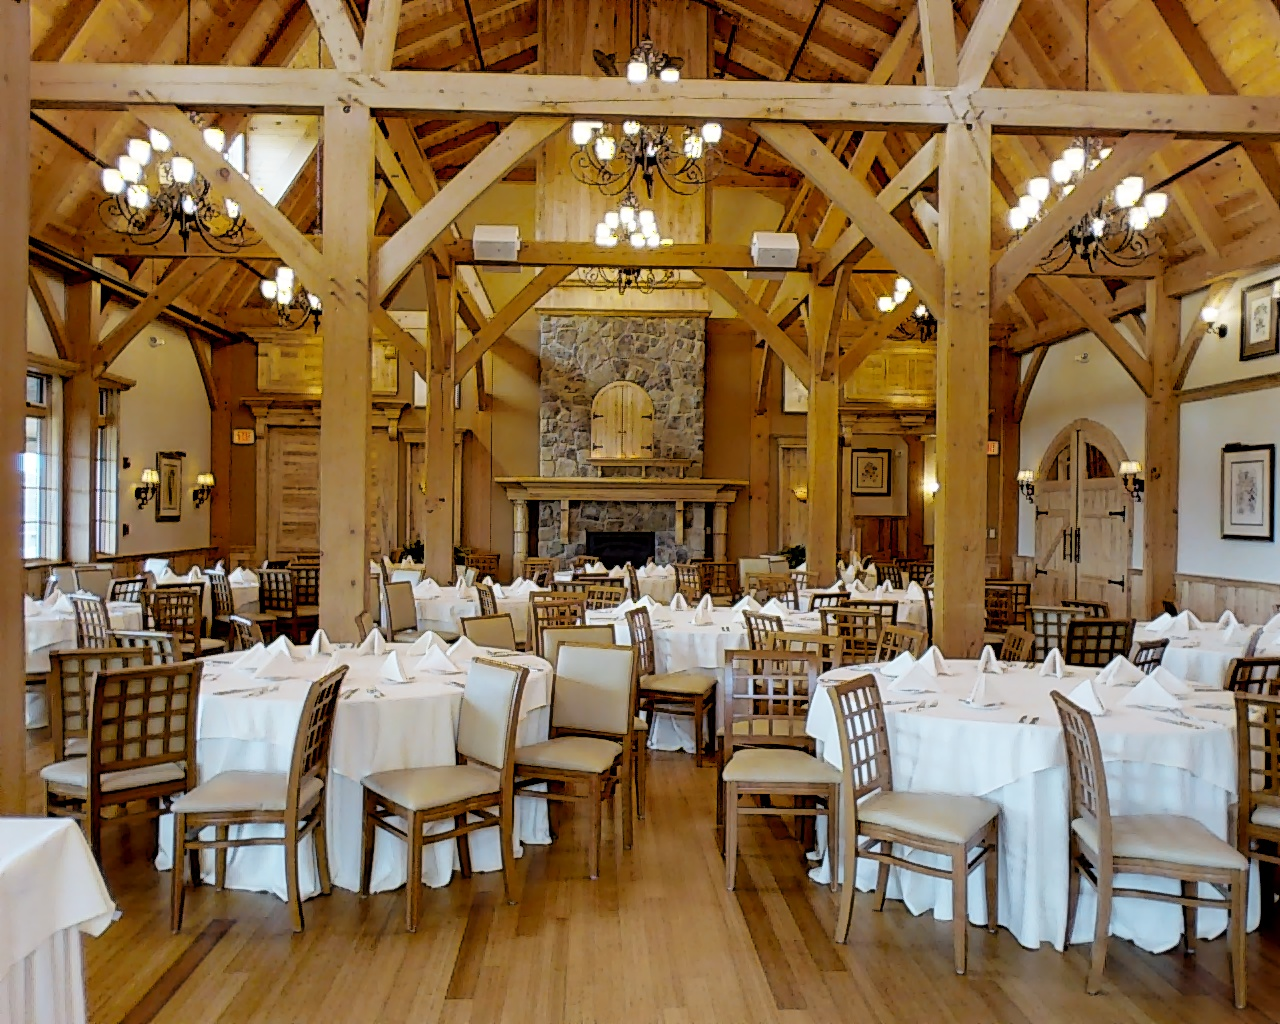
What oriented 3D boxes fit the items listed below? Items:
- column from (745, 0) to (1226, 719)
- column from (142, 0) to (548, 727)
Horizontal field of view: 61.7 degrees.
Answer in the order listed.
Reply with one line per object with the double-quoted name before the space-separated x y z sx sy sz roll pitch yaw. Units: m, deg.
"column" 2.490 -1.150 8.070 3.200 5.189 1.140 0 0 -3
"column" -2.040 -1.330 7.890 2.640 5.559 1.290 0 0 -3
